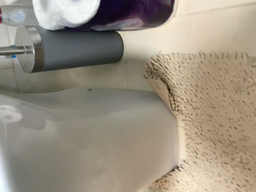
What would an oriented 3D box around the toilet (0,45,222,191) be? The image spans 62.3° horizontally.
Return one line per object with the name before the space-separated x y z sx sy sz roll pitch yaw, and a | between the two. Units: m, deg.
toilet | -0.310 0.150 0.380 0.630 0.810 0.410 7 106 43
